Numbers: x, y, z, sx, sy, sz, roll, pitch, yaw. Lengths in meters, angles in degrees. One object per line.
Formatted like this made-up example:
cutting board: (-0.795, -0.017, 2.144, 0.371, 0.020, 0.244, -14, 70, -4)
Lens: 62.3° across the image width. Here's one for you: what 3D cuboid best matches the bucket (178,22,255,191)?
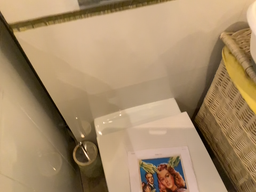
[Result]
bucket: (0.500, 0.160, 0.820, 0.340, 0.770, 0.430, -11, 57, -6)
